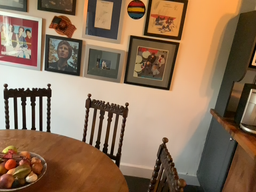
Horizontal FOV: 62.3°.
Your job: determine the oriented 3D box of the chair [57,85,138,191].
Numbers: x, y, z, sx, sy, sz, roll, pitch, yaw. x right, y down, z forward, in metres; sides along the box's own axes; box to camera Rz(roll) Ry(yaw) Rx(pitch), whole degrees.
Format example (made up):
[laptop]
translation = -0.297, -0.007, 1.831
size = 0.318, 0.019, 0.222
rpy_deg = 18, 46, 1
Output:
[chair]
translation = -0.310, 0.480, 1.850
size = 0.430, 1.040, 0.490
rpy_deg = -3, 20, -33
